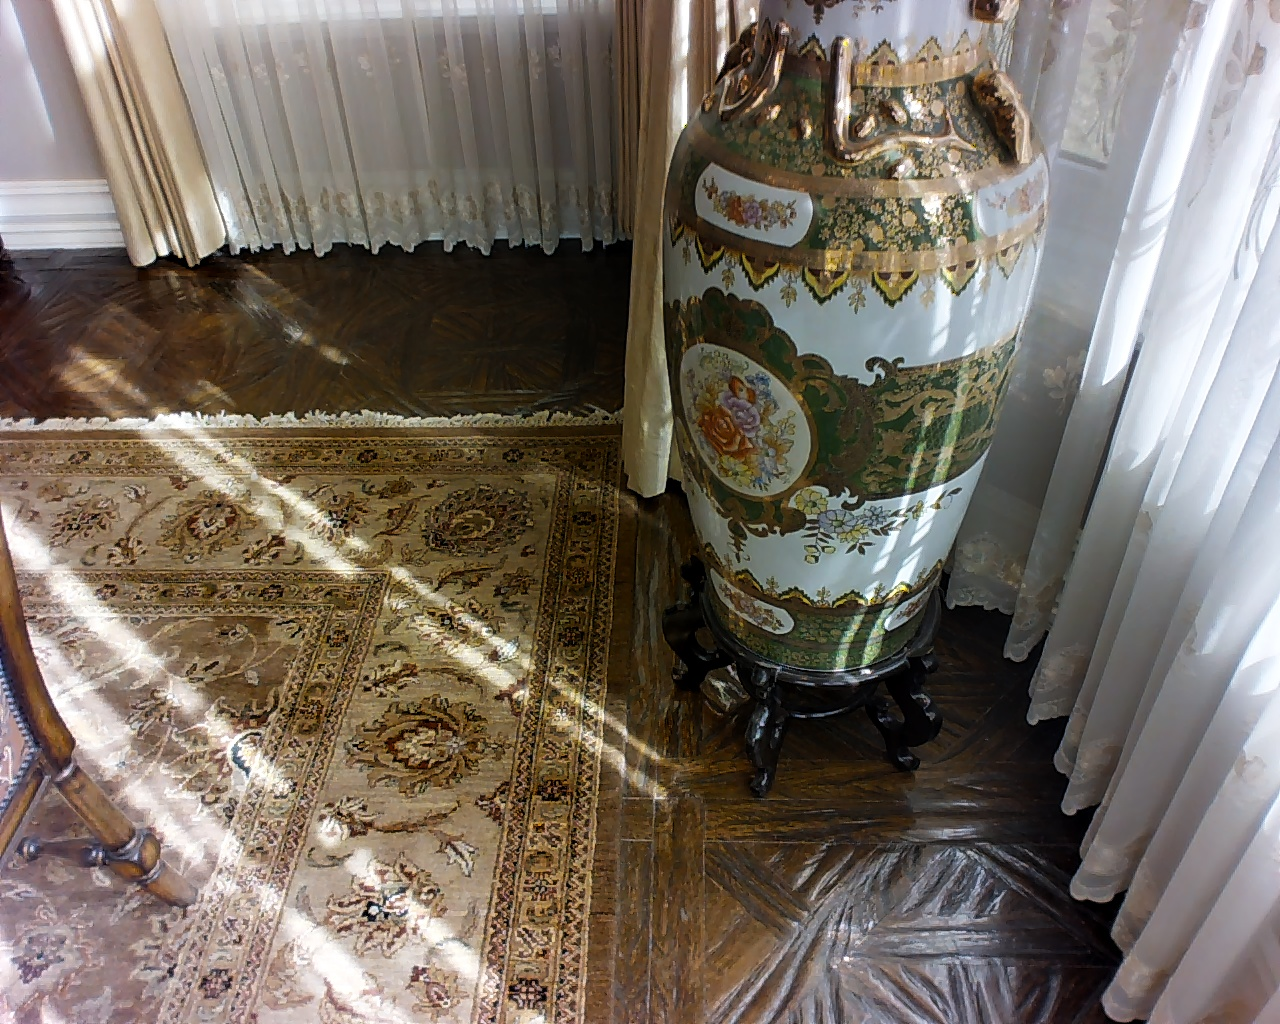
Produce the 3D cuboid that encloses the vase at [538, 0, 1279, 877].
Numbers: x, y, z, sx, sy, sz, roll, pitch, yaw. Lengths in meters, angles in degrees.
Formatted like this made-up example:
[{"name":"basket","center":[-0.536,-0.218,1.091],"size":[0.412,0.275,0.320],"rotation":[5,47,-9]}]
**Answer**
[{"name":"vase","center":[0.260,-0.210,1.400],"size":[0.560,1.370,0.520],"rotation":[-18,43,-17]}]
